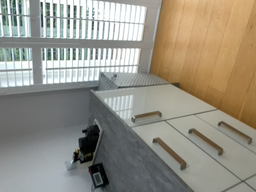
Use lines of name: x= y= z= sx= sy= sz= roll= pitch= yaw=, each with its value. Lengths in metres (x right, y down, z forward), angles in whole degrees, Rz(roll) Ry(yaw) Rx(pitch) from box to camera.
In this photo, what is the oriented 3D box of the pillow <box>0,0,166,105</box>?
pillow: x=-0.570 y=-0.790 z=1.510 sx=0.120 sy=2.090 sz=1.750 roll=39 pitch=128 yaw=50
